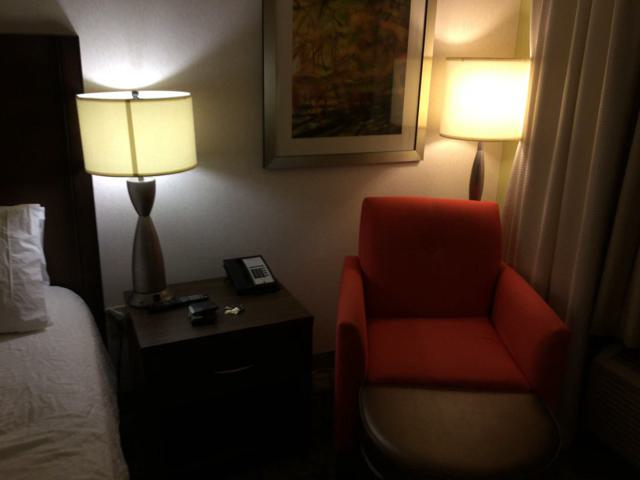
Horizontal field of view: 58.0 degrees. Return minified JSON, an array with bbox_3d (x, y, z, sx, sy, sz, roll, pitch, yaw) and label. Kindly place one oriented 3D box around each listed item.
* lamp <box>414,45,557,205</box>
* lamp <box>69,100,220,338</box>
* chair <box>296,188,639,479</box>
[{"bbox_3d":[0.670,-0.480,2.410,0.360,0.590,0.380,-6,16,-25],"label":"lamp"},{"bbox_3d":[-0.630,-0.110,2.070,0.420,0.750,0.430,-6,16,-25],"label":"lamp"},{"bbox_3d":[0.470,0.360,2.180,0.980,0.940,0.900,3,14,6],"label":"chair"}]
